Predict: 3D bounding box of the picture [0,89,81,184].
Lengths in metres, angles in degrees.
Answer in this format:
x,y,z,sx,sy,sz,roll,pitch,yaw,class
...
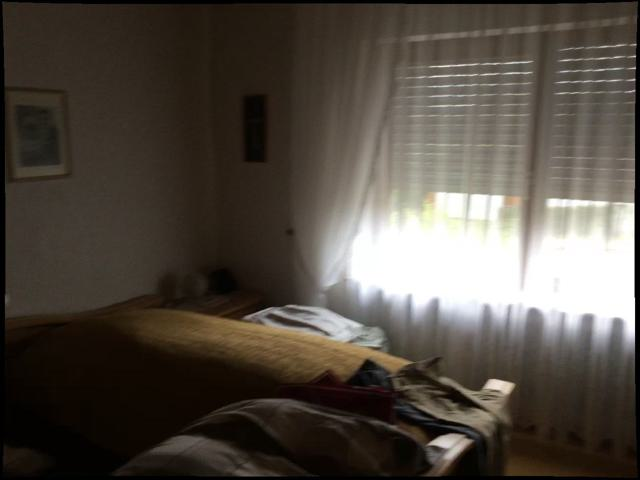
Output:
x,y,z,sx,sy,sz,roll,pitch,yaw,class
-1.349,-0.501,2.760,0.100,0.420,0.350,6,15,31,picture

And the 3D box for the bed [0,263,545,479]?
x,y,z,sx,sy,sz,roll,pitch,yaw,class
-0.579,0.841,2.130,2.198,0.751,2.299,6,15,31,bed

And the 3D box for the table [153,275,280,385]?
x,y,z,sx,sy,sz,roll,pitch,yaw,class
-0.629,0.531,3.610,0.490,0.440,0.580,6,15,31,table
